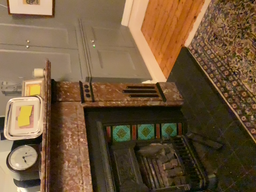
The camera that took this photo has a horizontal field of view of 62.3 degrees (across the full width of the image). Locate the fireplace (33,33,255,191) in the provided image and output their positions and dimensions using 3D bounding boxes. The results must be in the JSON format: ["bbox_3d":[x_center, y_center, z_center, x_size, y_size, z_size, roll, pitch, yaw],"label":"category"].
[{"bbox_3d":[0.080,0.400,1.530,0.730,1.320,1.810,109,153,-42],"label":"fireplace"}]
